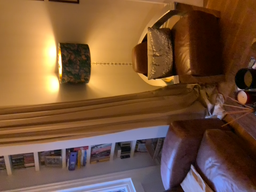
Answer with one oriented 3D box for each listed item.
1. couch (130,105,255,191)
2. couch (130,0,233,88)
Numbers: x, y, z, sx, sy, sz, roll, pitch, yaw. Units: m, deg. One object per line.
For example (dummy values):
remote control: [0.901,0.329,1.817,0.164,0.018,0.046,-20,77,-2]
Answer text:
couch: [0.710,0.980,1.570,1.600,0.780,1.040,-119,33,-51]
couch: [0.490,-0.490,2.220,0.810,0.670,0.730,171,96,-70]
